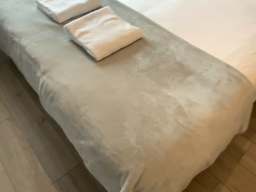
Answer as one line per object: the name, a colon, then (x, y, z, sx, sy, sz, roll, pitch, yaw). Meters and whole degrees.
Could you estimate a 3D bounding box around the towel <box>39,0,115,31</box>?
towel: (-0.360, -0.650, 1.480, 0.360, 0.090, 0.390, -37, 59, -25)

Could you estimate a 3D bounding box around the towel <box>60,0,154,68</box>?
towel: (-0.120, -0.390, 1.250, 0.390, 0.100, 0.370, -37, 59, -25)
